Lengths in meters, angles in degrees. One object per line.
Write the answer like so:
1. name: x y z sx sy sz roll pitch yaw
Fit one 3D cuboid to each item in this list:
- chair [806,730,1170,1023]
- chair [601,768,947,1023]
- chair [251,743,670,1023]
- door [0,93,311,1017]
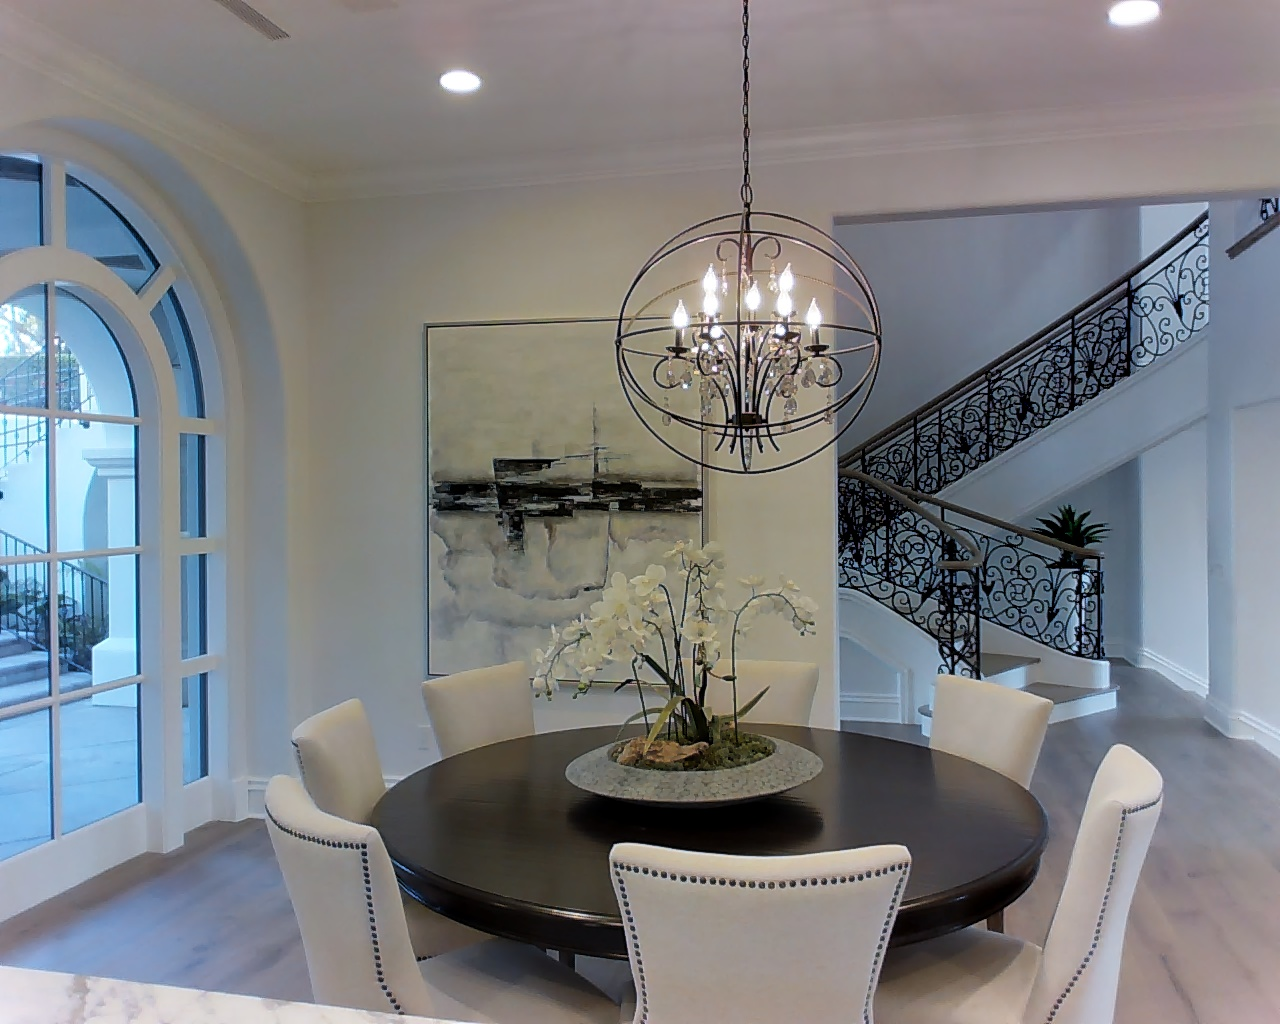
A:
1. chair: 0.850 1.110 2.570 0.750 1.000 0.580 0 1 26
2. chair: 0.220 1.110 2.180 0.590 1.000 0.700 0 1 -2
3. chair: -0.410 1.120 2.400 0.760 1.010 0.580 -1 1 -31
4. door: -2.139 0.130 4.320 0.530 2.991 2.110 0 1 14
